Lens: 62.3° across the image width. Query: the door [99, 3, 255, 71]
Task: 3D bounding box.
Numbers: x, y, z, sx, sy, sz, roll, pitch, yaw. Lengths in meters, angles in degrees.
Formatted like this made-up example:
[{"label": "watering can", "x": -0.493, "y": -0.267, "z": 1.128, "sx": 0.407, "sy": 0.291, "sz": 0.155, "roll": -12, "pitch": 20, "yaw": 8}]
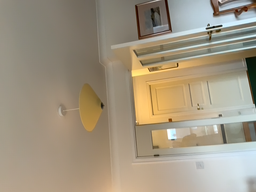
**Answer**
[{"label": "door", "x": 0.870, "y": -0.630, "z": 2.400, "sx": 1.060, "sy": 2.140, "sz": 0.170, "roll": 14, "pitch": -112, "yaw": -76}]
